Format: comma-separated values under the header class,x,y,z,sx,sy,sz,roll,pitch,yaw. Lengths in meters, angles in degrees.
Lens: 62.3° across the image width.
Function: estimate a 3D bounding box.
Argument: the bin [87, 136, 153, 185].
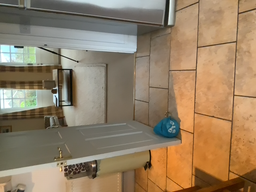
class,x,y,z,sx,sy,sz,roll,pitch,yaw
bin,-0.090,0.650,2.250,0.380,0.590,0.290,15,105,62
